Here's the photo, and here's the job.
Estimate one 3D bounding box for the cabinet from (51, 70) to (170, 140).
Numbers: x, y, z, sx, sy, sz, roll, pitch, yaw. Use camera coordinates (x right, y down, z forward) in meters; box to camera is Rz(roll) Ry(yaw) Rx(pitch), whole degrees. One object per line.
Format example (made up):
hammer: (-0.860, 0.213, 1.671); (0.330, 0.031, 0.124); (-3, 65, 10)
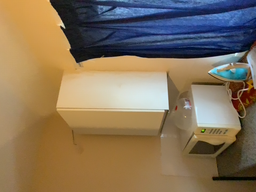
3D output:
cabinet: (-0.100, 0.100, 1.640); (0.590, 0.740, 0.290); (88, -176, -63)

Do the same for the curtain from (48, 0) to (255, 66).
curtain: (0.190, -0.570, 0.540); (1.590, 1.040, 0.070); (88, -176, -64)
